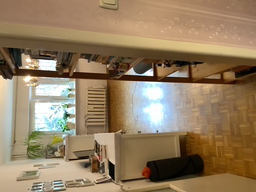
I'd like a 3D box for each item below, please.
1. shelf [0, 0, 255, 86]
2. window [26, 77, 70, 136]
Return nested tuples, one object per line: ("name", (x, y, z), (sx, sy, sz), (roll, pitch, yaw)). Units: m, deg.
("shelf", (0.110, -0.300, 1.440), (0.630, 2.040, 0.290), (156, 113, -67))
("window", (-2.180, 0.270, 5.870), (0.220, 1.090, 1.560), (151, 118, -66))
